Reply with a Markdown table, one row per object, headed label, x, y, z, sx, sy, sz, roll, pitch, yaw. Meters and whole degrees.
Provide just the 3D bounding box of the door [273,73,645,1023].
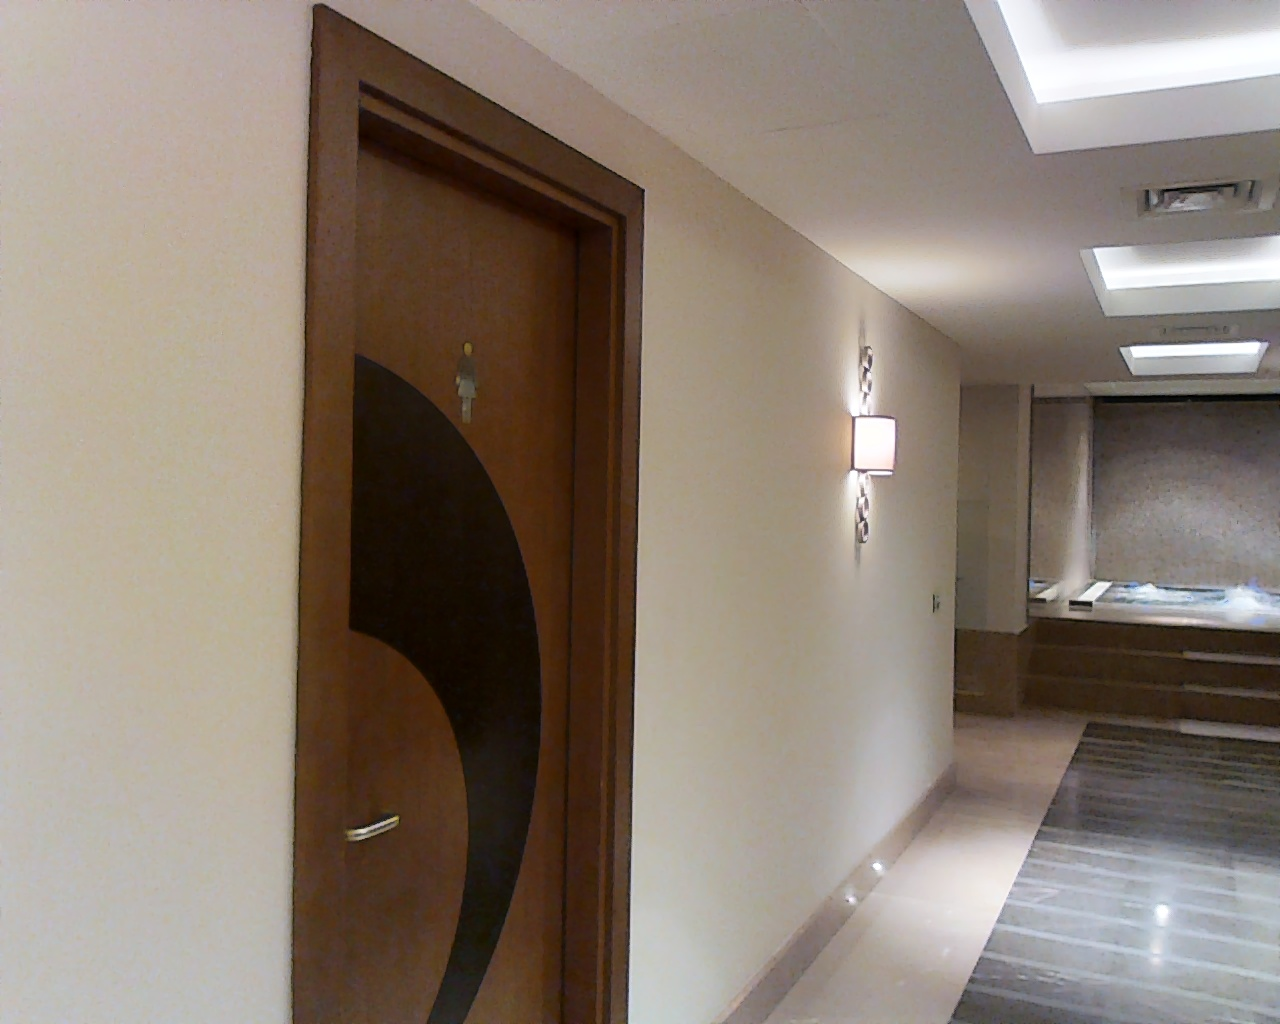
| label | x | y | z | sx | sy | sz | roll | pitch | yaw |
| --- | --- | --- | --- | --- | --- | --- | --- | --- | --- |
| door | -0.280 | 0.450 | 2.020 | 0.110 | 2.180 | 0.940 | 1 | 0 | 28 |
